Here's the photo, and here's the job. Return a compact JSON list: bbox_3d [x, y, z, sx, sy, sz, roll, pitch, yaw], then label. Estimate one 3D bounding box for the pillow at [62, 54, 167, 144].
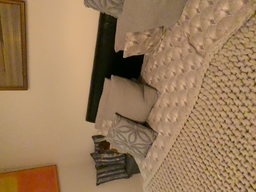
[{"bbox_3d":[-0.120,0.070,1.980,0.790,0.530,0.250,-32,48,11],"label":"pillow"}]
